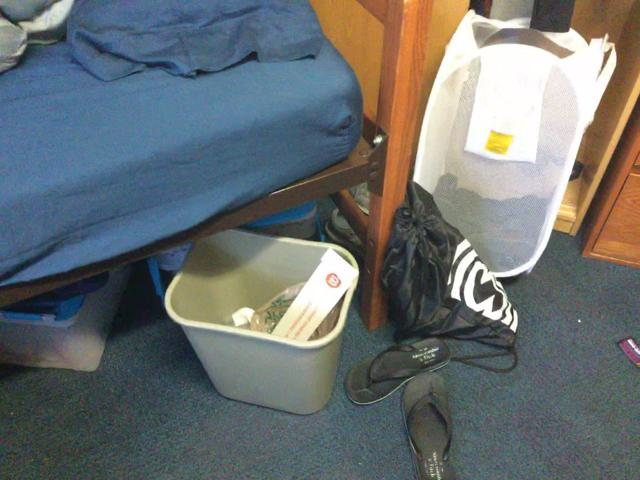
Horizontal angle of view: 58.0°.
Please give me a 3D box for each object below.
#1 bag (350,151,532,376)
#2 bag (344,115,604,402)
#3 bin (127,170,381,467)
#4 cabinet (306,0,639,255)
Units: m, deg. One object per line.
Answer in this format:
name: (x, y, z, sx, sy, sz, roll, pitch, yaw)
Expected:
bag: (0.250, 0.050, 1.250, 0.300, 0.340, 0.270, 13, 48, 14)
bag: (0.310, 0.050, 1.330, 0.420, 0.490, 0.280, -21, 49, -18)
bin: (-0.140, 0.170, 1.300, 0.390, 0.410, 0.380, -21, 49, -18)
cabinet: (0.490, -0.800, 1.410, 0.880, 1.490, 0.640, 15, 49, 16)
